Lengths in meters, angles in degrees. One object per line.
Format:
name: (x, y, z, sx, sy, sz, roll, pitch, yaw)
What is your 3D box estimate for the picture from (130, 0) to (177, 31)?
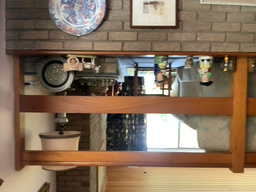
picture: (0.190, -0.660, 1.590, 0.350, 0.330, 0.020, 1, -177, -1)

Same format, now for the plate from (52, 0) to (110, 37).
plate: (-0.350, -0.670, 1.580, 0.420, 0.440, 0.050, 1, -177, 3)
